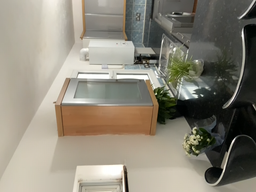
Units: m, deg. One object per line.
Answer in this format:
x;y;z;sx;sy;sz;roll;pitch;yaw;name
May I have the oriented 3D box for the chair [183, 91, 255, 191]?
1.000;0.280;1.350;0.450;1.110;0.480;-101;13;-63;chair
